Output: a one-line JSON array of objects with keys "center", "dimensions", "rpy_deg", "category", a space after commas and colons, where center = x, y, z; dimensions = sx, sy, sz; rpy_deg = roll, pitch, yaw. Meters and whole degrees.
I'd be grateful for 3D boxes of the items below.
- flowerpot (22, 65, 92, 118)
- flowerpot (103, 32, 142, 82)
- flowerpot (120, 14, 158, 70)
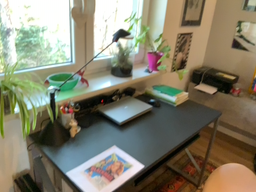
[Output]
[{"center": [-0.470, -0.050, 1.430], "dimensions": [0.330, 0.190, 0.310], "rpy_deg": [24, 30, 34], "category": "flowerpot"}, {"center": [-0.050, -0.330, 1.760], "dimensions": [0.250, 0.360, 0.160], "rpy_deg": [-18, 34, -41], "category": "flowerpot"}, {"center": [0.090, -0.480, 1.870], "dimensions": [0.220, 0.430, 0.190], "rpy_deg": [26, 32, 38], "category": "flowerpot"}]
